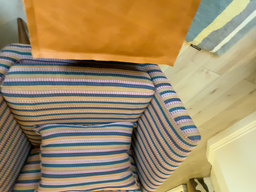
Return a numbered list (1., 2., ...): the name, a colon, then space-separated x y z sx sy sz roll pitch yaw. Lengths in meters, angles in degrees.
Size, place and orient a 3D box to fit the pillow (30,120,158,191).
1. pillow: -0.170 0.270 1.000 0.480 0.400 0.150 2 110 -17
